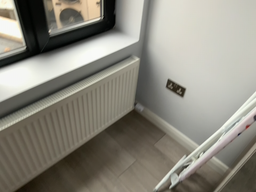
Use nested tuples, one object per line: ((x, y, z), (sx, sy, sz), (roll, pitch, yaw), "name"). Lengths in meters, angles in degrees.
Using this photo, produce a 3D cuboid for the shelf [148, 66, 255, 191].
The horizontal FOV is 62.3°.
((0.470, 0.140, 1.060), (0.390, 1.180, 0.130), (-27, 64, -36), "shelf")
